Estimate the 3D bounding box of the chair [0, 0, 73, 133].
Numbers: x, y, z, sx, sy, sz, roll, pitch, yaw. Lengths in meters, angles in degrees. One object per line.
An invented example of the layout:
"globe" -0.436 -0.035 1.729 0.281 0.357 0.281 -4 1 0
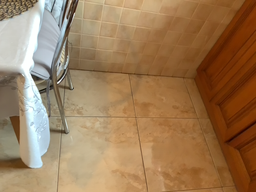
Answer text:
"chair" -0.460 -0.200 0.890 0.410 0.870 0.340 5 54 -14
